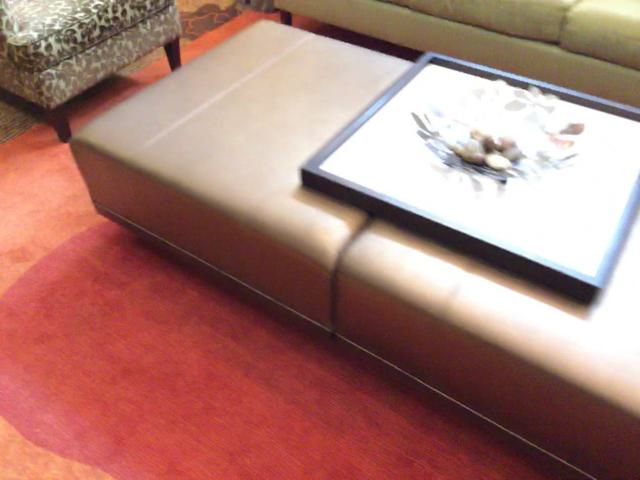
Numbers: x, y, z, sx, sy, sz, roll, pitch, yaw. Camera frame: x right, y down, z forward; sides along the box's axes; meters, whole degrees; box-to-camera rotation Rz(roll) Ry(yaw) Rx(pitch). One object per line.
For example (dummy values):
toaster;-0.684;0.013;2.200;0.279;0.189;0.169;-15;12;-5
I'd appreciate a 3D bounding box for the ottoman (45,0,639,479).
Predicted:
ottoman;0.270;-0.080;1.620;1.780;0.490;0.930;27;52;22
